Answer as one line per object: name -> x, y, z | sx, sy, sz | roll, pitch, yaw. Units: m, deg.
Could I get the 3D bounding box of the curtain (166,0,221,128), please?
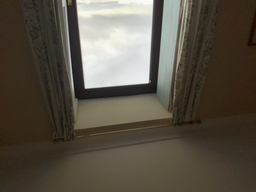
curtain -> 0.460, -0.720, 1.330 | 0.210, 2.100, 0.180 | -6, -152, -12

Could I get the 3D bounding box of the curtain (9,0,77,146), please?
curtain -> -0.510, -0.620, 1.140 | 0.240, 2.100, 0.160 | -6, -152, -12

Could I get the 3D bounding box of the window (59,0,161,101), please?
window -> -0.140, -0.820, 1.770 | 0.840, 1.800, 0.130 | -6, -152, -11
